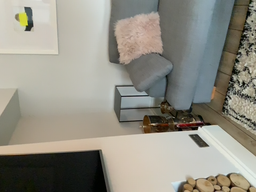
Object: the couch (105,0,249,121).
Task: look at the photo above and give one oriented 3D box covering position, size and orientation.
[{"bbox_3d":[0.360,-1.110,1.830,1.100,0.840,2.360,-122,34,-62],"label":"couch"}]
